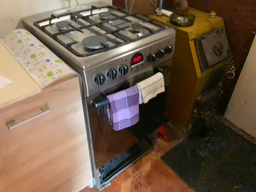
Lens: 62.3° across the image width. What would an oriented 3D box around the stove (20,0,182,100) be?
[{"bbox_3d":[-0.150,-0.310,1.080,0.510,0.190,0.620,-28,47,-30],"label":"stove"}]
